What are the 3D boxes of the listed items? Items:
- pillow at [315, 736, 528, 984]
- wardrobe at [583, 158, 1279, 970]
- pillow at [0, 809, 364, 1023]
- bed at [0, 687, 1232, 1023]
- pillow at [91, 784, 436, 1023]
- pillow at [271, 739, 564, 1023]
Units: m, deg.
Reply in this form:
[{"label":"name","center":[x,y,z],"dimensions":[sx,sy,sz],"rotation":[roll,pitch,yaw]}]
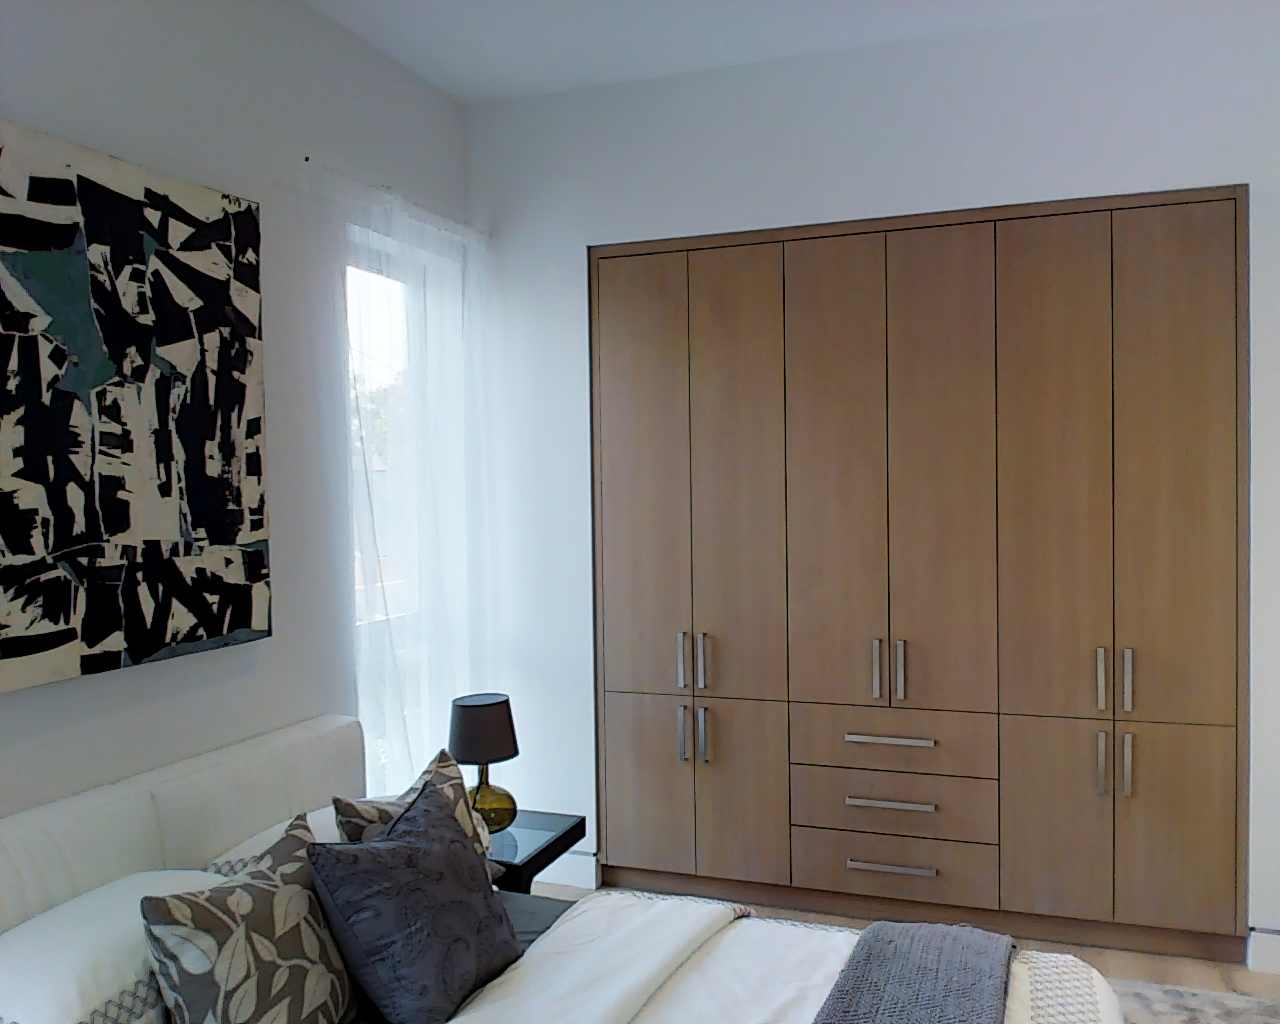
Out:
[{"label":"pillow","center":[-0.510,0.810,2.600],"dimensions":[0.280,0.410,0.490],"rotation":[-1,2,21]},{"label":"wardrobe","center":[0.910,0.180,3.750],"dimensions":[2.329,2.501,0.080],"rotation":[-1,2,21]},{"label":"pillow","center":[-0.990,0.880,2.150],"dimensions":[0.450,0.280,0.840],"rotation":[2,2,20]},{"label":"bed","center":[-0.160,1.050,2.270],"dimensions":[2.319,0.910,1.890],"rotation":[-1,2,21]},{"label":"pillow","center":[-0.730,0.870,2.120],"dimensions":[0.290,0.440,0.540],"rotation":[23,10,18]},{"label":"pillow","center":[-0.460,0.810,2.320],"dimensions":[0.270,0.460,0.480],"rotation":[26,11,18]}]
